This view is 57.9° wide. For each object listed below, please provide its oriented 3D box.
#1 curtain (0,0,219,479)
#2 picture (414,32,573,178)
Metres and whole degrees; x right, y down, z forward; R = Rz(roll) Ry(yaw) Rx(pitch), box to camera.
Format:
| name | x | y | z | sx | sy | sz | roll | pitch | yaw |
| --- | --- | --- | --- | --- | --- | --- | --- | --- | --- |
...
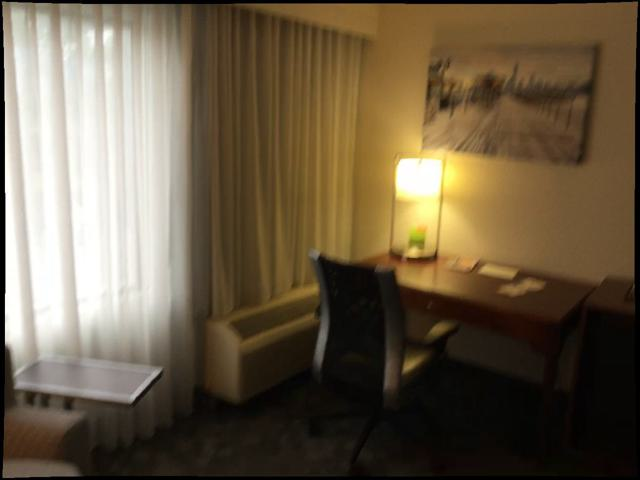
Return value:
| name | x | y | z | sx | sy | sz | roll | pitch | yaw |
| --- | --- | --- | --- | --- | --- | --- | --- | --- | --- |
| curtain | -1.109 | -0.050 | 2.040 | 0.250 | 2.132 | 1.699 | 16 | 19 | 35 |
| picture | 0.909 | -0.751 | 3.150 | 0.740 | 0.701 | 0.090 | 16 | 19 | 35 |
